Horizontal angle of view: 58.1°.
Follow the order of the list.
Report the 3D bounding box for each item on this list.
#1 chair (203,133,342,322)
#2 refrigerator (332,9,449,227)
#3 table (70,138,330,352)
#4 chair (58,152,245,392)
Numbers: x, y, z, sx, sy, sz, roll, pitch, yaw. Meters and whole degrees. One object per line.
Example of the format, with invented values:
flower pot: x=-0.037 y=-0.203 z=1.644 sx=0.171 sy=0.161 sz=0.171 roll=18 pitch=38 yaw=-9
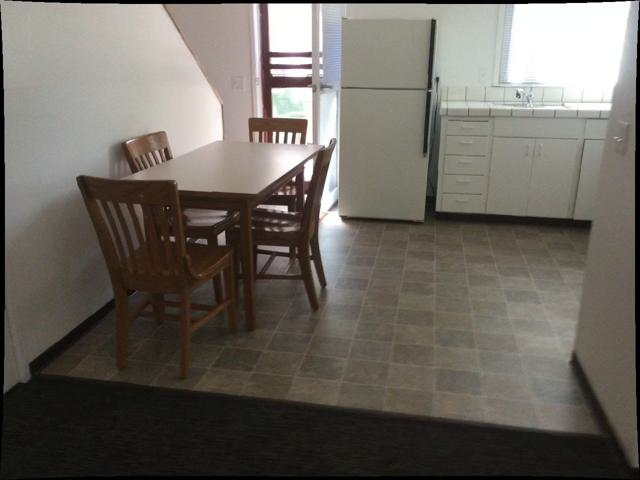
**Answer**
chair: x=-0.220 y=-0.090 z=3.150 sx=0.609 sy=0.901 sz=0.480 roll=3 pitch=20 yaw=11
refrigerator: x=0.579 y=-1.002 z=4.700 sx=0.819 sy=1.582 sz=0.810 roll=3 pitch=20 yaw=11
table: x=-0.539 y=-0.080 z=3.310 sx=0.958 sy=0.771 sz=1.360 roll=3 pitch=20 yaw=11
chair: x=-0.699 y=0.110 z=2.590 sx=0.509 sy=0.901 sz=0.570 roll=3 pitch=20 yaw=10
